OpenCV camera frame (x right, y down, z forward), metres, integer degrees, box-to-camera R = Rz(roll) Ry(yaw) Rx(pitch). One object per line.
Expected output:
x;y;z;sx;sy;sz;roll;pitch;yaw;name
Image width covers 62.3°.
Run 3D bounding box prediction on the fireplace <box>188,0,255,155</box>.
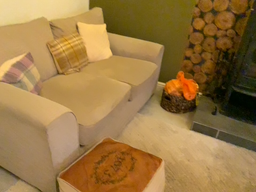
1.130;-0.190;1.780;0.860;1.150;0.690;17;31;18;fireplace
